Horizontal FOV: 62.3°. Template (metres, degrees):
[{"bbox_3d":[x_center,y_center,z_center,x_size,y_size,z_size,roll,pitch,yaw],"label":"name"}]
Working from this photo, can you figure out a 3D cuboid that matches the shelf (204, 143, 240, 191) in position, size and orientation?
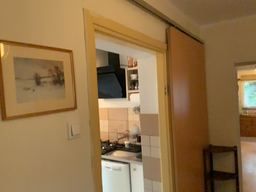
[{"bbox_3d":[1.080,1.060,2.410,0.290,0.970,0.300,-2,1,37],"label":"shelf"}]
